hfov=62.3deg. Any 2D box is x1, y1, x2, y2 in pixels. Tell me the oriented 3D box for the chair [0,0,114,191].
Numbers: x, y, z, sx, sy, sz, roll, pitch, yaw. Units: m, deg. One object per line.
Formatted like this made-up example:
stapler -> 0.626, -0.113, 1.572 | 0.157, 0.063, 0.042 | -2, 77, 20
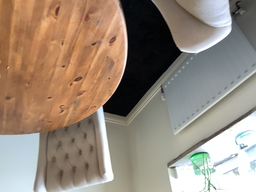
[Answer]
chair -> -0.490, 0.010, 1.360 | 0.550, 1.040, 0.650 | -16, 141, 12
